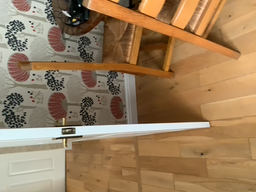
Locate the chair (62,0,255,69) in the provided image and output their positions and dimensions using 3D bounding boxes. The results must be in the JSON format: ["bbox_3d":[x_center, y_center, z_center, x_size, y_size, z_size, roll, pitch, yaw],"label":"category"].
[{"bbox_3d":[0.240,-0.510,1.040,0.500,0.990,0.440,48,124,42],"label":"chair"}]
